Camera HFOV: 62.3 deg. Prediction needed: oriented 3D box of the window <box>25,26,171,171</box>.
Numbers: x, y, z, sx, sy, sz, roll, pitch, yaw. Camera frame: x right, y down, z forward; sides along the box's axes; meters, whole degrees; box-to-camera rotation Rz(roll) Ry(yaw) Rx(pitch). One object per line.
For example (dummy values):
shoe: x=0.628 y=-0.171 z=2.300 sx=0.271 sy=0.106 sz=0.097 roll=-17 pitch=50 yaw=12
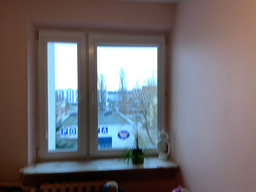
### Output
window: x=-0.310 y=0.030 z=2.380 sx=1.570 sy=1.520 sz=0.140 roll=0 pitch=1 yaw=-6
